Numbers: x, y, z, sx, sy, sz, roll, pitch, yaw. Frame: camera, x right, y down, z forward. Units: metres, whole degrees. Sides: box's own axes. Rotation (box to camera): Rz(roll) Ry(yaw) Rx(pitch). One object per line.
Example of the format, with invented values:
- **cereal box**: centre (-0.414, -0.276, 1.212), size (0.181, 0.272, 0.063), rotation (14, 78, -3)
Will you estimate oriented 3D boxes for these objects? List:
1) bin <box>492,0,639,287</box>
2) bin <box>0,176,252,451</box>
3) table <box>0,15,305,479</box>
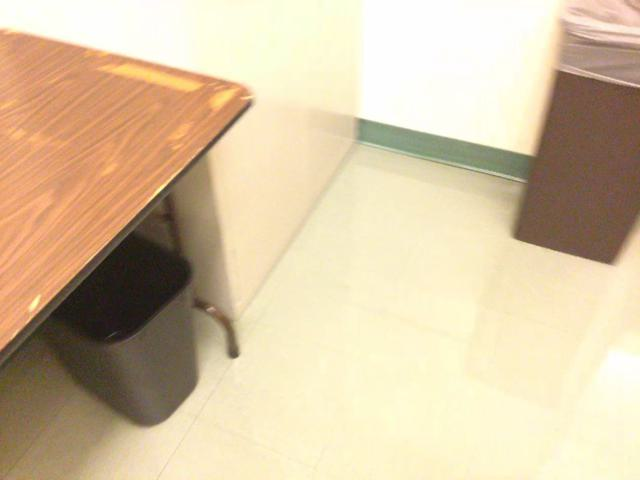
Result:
- **bin**: centre (0.750, -0.300, 1.510), size (0.400, 0.720, 0.360), rotation (16, 47, 19)
- **bin**: centre (-0.430, 0.160, 1.310), size (0.390, 0.420, 0.330), rotation (16, 47, 19)
- **table**: centre (-0.590, 0.270, 0.960), size (0.640, 0.760, 1.160), rotation (16, 47, 19)
